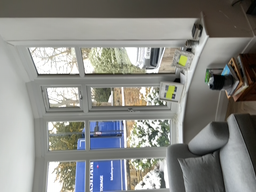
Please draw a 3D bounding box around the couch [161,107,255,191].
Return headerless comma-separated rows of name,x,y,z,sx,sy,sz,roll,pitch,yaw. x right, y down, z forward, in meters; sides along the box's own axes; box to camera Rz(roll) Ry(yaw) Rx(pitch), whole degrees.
couch,0.900,0.780,2.110,1.150,0.790,0.930,99,169,-62
